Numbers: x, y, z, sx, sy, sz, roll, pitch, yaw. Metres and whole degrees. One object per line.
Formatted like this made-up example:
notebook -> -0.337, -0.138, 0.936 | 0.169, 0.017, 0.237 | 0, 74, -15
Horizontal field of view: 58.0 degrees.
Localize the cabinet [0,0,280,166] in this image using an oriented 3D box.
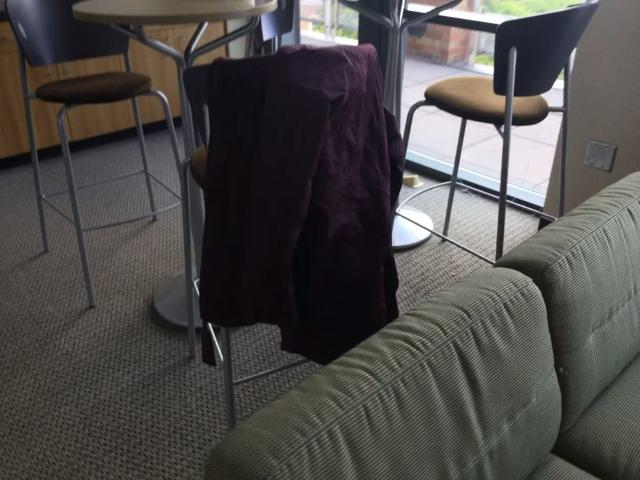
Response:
cabinet -> -1.530, -1.010, 3.400 | 2.630, 0.880, 0.530 | -18, 29, -30
